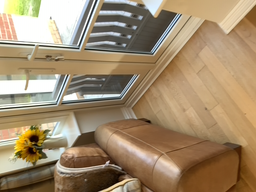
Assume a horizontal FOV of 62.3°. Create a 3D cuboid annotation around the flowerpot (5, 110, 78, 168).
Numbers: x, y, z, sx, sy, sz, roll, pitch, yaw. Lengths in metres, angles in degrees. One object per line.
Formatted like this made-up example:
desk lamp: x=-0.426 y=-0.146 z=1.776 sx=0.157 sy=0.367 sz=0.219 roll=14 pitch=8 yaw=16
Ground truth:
flowerpot: x=-0.740 y=0.350 z=1.810 sx=0.300 sy=0.480 sz=0.280 roll=59 pitch=136 yaw=29
